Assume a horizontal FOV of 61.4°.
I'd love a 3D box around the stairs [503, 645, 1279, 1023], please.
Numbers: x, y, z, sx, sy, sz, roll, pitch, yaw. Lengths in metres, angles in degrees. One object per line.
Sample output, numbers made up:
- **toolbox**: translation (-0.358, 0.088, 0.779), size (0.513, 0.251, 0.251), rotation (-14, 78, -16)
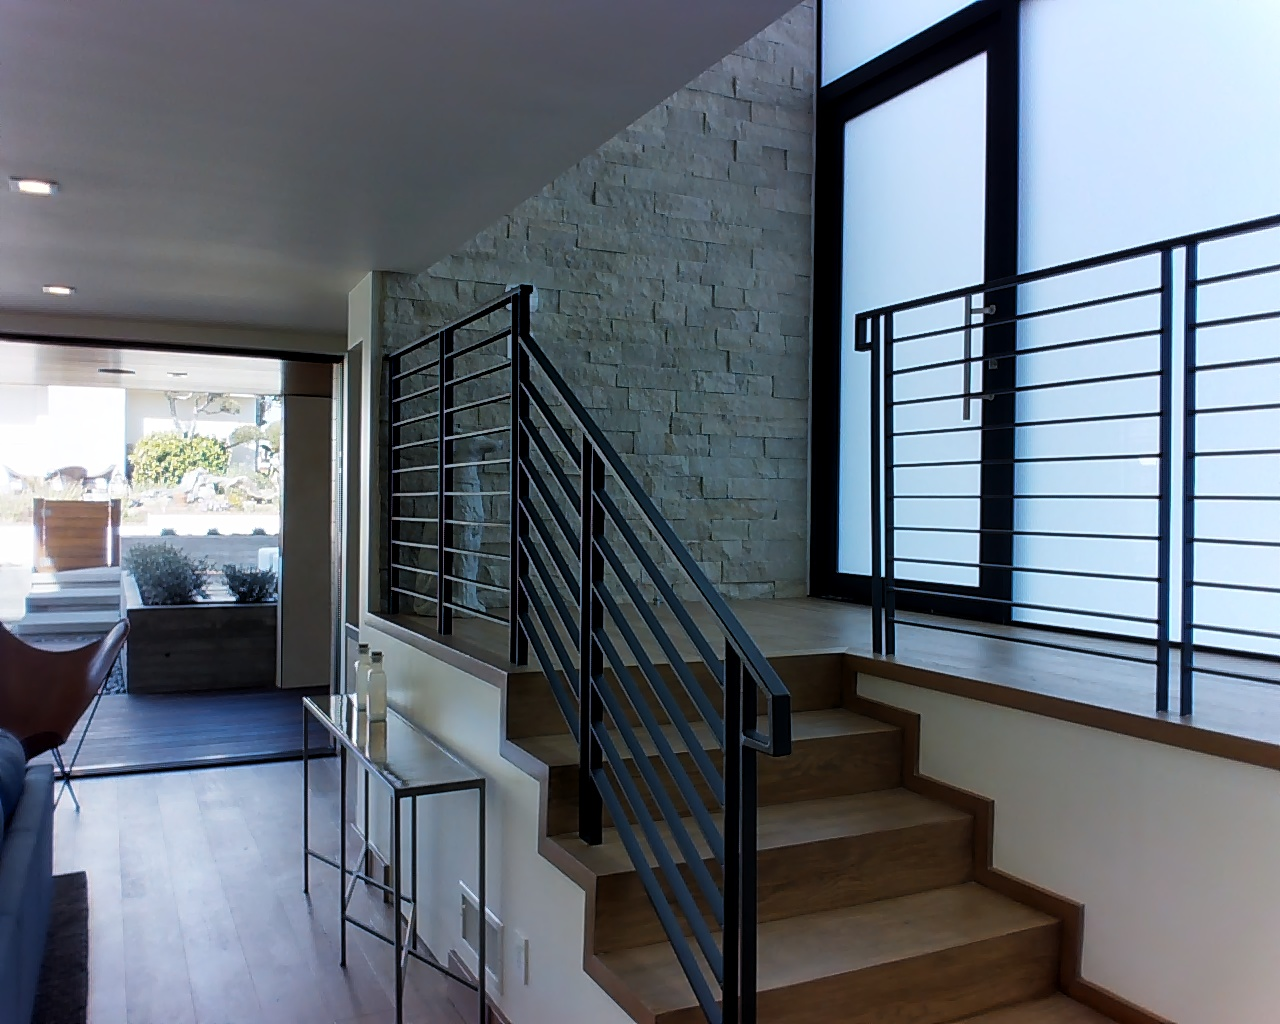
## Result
- **stairs**: translation (0.740, 0.900, 2.830), size (1.720, 0.370, 1.750), rotation (1, -31, -26)
